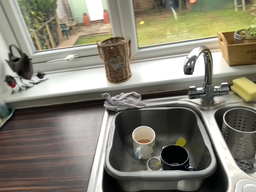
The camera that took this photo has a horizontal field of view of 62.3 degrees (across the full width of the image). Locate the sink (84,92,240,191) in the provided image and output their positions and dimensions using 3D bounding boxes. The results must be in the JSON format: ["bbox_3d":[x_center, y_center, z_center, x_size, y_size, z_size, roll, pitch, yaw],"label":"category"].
[{"bbox_3d":[0.090,0.210,0.720,0.380,0.170,0.500,-6,32,6],"label":"sink"}]
